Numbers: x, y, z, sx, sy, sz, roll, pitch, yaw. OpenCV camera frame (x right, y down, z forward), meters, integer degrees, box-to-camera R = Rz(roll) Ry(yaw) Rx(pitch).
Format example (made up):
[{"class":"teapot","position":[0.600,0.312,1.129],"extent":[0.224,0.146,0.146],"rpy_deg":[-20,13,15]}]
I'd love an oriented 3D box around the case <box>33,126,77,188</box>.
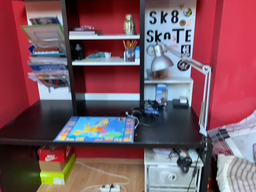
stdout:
[{"class":"case","position":[-0.700,0.590,2.130],"extent":[0.220,0.390,0.470],"rpy_deg":[0,19,3]}]

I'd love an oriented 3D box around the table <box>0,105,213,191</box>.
[{"class":"table","position":[-0.200,0.540,1.810],"extent":[1.520,0.680,0.740],"rpy_deg":[1,19,6]}]
